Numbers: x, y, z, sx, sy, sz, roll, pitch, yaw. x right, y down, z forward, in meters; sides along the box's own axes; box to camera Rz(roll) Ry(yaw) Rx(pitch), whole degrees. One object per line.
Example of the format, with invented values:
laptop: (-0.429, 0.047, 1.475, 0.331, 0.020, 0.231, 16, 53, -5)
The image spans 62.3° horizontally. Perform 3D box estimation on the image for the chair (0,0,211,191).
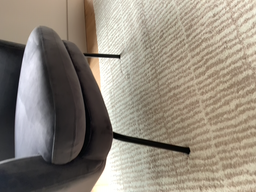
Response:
chair: (-0.390, 0.150, 0.790, 0.750, 0.800, 0.710, -61, 39, 28)
